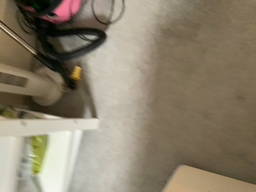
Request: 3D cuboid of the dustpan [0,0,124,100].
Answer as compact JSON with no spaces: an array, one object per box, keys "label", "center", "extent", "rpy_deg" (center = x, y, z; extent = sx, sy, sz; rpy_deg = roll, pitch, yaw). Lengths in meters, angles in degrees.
[{"label":"dustpan","center":[-0.470,-0.410,0.910],"extent":[0.550,0.920,0.720],"rpy_deg":[9,88,20]}]
